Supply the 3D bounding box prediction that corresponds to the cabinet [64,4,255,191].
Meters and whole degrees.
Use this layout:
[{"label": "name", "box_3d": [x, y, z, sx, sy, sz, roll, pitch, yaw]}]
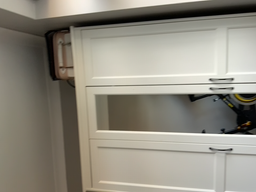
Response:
[{"label": "cabinet", "box_3d": [0.600, 0.050, 1.610, 0.640, 1.910, 1.210, -35, -57, -76]}]
